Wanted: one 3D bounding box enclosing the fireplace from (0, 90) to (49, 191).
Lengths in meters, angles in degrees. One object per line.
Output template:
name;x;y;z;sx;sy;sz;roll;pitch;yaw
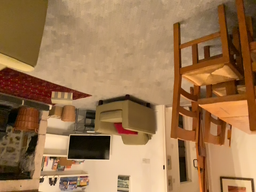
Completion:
fireplace;-2.480;0.750;3.380;0.790;1.700;2.020;-11;160;35

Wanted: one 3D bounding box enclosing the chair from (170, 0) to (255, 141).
chair;0.650;-0.160;1.540;0.490;0.900;0.420;-13;158;37

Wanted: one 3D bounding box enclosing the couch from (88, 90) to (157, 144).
couch;-0.070;0.450;3.940;0.800;0.780;0.990;-12;160;36

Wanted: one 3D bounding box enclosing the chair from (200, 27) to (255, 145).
chair;1.010;-0.050;1.890;0.500;0.900;0.410;-13;159;36
